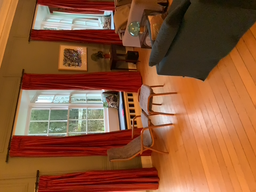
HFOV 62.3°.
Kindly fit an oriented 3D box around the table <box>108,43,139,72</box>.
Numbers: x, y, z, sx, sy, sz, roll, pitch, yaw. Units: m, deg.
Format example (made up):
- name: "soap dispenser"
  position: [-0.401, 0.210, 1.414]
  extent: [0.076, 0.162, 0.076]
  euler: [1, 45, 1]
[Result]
- name: "table"
  position: [-0.140, -1.030, 5.760]
  extent: [0.410, 0.720, 0.610]
  euler: [112, 155, -54]
